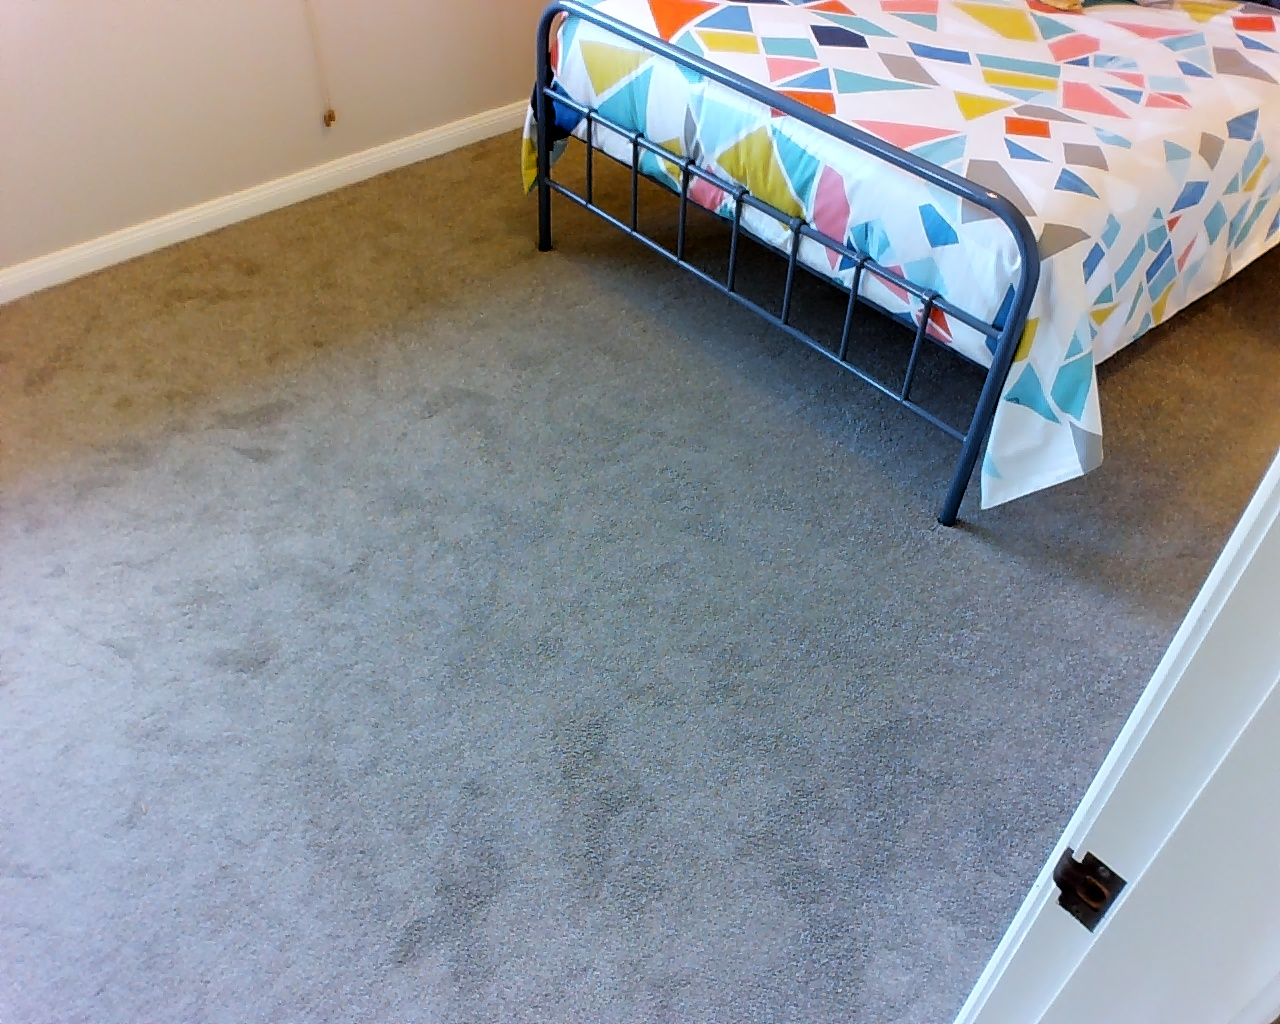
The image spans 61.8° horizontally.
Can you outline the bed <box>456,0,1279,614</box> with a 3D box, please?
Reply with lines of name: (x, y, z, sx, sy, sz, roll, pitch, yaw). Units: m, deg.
bed: (0.960, -1.030, 2.790, 2.110, 0.710, 1.880, -31, 52, -29)
